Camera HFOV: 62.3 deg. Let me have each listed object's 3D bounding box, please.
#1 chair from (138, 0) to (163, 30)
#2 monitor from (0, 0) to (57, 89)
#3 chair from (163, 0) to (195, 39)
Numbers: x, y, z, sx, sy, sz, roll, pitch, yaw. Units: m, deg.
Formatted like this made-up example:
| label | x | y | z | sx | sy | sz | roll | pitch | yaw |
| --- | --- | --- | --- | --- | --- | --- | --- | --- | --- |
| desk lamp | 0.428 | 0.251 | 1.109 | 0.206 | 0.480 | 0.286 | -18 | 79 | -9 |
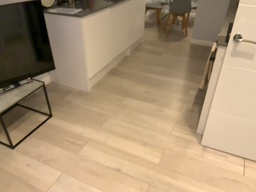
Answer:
| label | x | y | z | sx | sy | sz | roll | pitch | yaw |
| --- | --- | --- | --- | --- | --- | --- | --- | --- | --- |
| chair | 0.480 | -1.920 | 4.650 | 0.470 | 0.810 | 0.450 | 0 | 34 | -2 |
| monitor | -1.060 | -0.360 | 1.670 | 0.080 | 0.630 | 1.010 | 25 | 41 | 30 |
| chair | 0.990 | -1.620 | 4.220 | 0.460 | 0.810 | 0.520 | 3 | 34 | 2 |
